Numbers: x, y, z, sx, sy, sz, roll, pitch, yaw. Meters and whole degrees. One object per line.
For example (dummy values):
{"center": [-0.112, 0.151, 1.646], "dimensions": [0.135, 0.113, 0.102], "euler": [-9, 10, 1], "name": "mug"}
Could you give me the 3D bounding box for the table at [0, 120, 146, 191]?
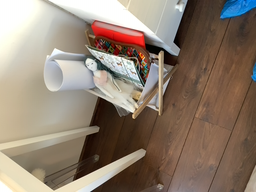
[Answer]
{"center": [-0.360, 0.620, 1.010], "dimensions": [0.400, 0.790, 0.850], "euler": [21, 98, 23], "name": "table"}
